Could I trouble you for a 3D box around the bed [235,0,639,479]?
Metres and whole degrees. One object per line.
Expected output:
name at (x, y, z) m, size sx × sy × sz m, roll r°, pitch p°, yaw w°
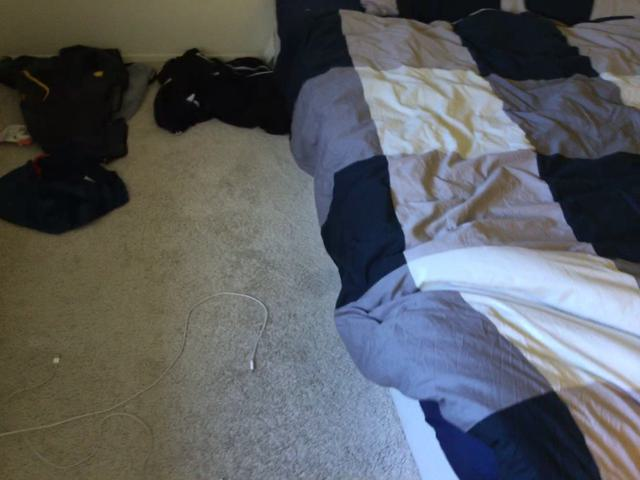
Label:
bed at (0.770, -0.280, 1.800) m, size 1.800 × 0.600 × 2.170 m, roll -6°, pitch 44°, yaw -12°
